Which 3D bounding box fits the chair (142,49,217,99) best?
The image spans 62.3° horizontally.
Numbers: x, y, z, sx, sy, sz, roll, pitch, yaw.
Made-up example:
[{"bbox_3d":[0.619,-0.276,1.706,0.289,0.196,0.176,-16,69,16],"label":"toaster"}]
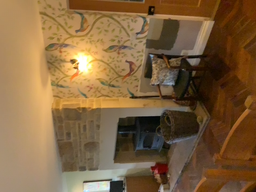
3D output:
[{"bbox_3d":[0.720,-0.330,3.200,0.620,0.860,0.460,-101,15,-48],"label":"chair"}]
